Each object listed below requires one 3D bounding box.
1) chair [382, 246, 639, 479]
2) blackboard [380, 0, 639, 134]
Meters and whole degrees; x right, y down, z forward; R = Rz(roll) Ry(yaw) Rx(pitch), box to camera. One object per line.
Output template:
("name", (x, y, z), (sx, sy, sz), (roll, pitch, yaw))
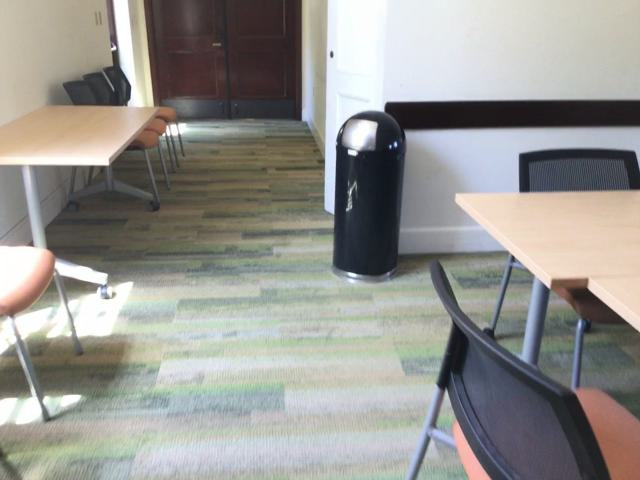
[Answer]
("chair", (0.520, 0.480, 1.230), (0.620, 0.760, 0.540), (-3, 21, -10))
("blackboard", (1.110, -1.130, 2.910), (1.530, 1.140, 0.250), (-1, 21, -5))
